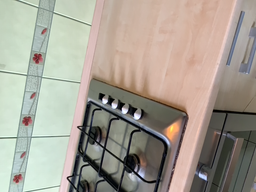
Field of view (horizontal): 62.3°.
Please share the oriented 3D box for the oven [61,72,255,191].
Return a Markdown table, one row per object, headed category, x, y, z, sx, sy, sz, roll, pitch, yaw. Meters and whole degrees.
| category | x | y | z | sx | sy | sz | roll | pitch | yaw |
| --- | --- | --- | --- | --- | --- | --- | --- | --- | --- |
| oven | 0.170 | 0.290 | 0.990 | 0.590 | 0.650 | 0.610 | 23 | 102 | 48 |
